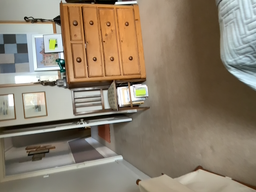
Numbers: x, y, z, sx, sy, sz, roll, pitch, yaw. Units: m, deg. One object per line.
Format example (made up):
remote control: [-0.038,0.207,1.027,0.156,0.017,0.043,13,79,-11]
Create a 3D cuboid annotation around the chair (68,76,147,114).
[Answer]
chair: [-0.280,-0.010,2.800,0.460,0.920,0.390,166,99,-70]
